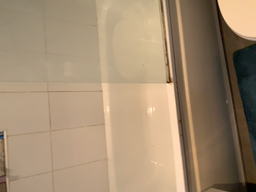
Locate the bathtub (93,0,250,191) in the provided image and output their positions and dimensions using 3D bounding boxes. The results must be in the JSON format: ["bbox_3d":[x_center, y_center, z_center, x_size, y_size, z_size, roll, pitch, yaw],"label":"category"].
[{"bbox_3d":[0.240,-0.040,1.470,0.750,0.540,1.700,-11,83,51],"label":"bathtub"}]
